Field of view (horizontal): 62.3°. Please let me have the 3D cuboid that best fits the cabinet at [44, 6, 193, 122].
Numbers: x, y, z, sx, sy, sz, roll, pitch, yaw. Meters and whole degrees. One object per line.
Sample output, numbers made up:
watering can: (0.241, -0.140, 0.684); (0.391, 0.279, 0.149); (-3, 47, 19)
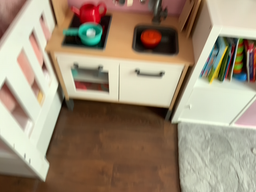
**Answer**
cabinet: (-0.040, -0.180, 1.350); (0.720, 0.540, 0.390); (7, 54, 1)
